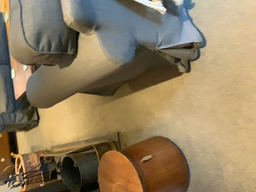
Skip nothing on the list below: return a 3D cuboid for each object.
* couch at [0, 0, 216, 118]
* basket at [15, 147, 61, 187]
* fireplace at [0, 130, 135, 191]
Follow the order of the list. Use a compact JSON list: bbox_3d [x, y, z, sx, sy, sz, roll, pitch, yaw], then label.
[{"bbox_3d":[-0.390,-0.910,1.240,0.950,0.840,1.850,-23,77,46],"label":"couch"},{"bbox_3d":[-1.120,0.860,2.610,0.460,0.350,0.360,-20,78,47],"label":"basket"},{"bbox_3d":[-0.830,0.790,1.660,1.340,1.150,0.670,-22,77,46],"label":"fireplace"}]
